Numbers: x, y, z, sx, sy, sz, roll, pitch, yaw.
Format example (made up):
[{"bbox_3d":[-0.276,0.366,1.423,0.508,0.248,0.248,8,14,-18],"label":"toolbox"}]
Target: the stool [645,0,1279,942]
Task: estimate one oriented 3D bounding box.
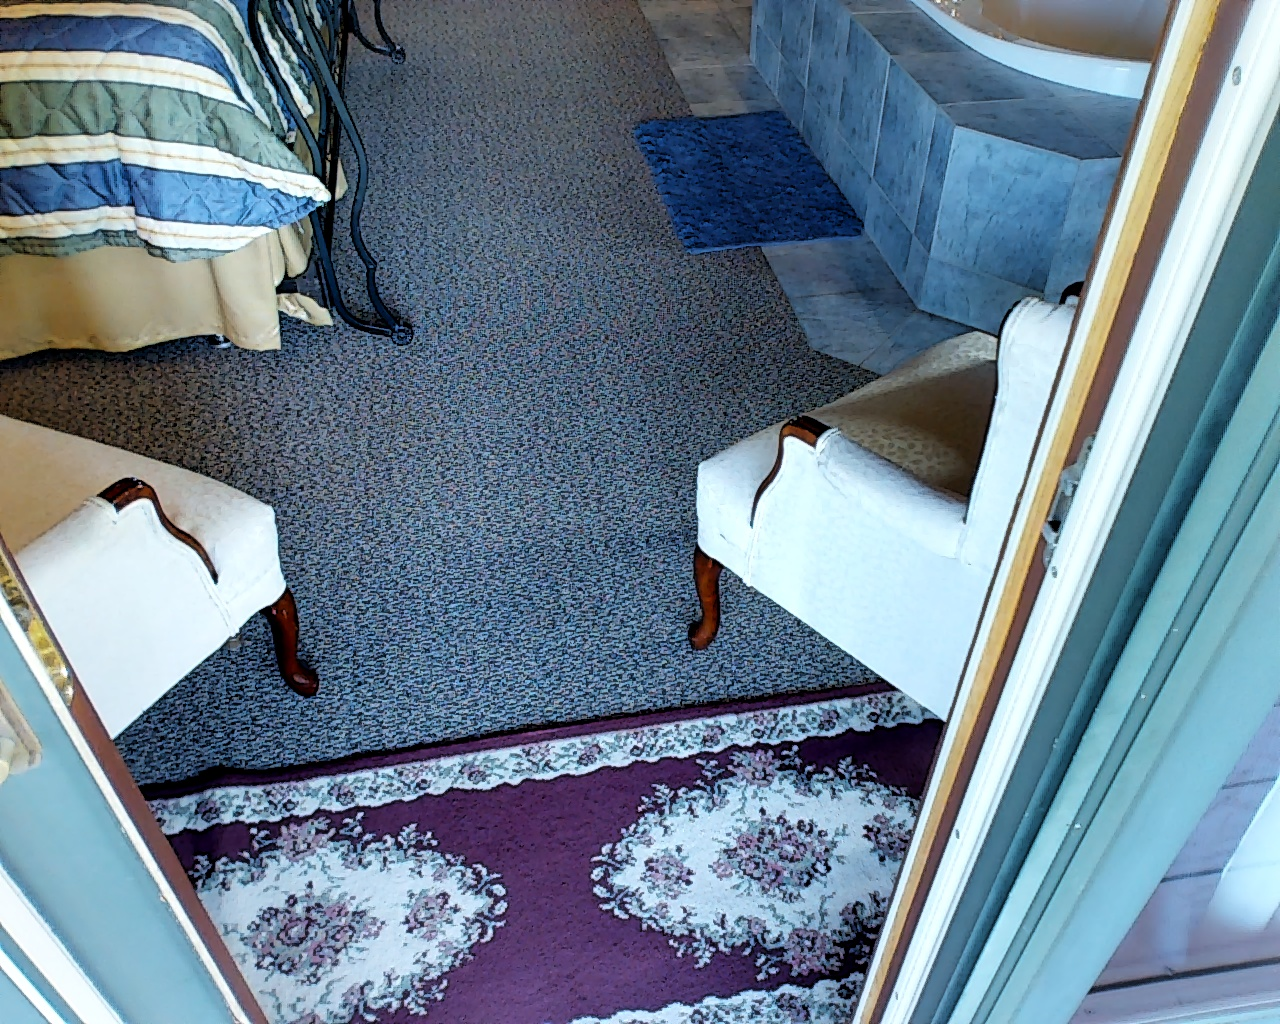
[{"bbox_3d":[0.540,-0.100,1.610,0.750,0.980,0.760,-28,49,-27],"label":"stool"}]
